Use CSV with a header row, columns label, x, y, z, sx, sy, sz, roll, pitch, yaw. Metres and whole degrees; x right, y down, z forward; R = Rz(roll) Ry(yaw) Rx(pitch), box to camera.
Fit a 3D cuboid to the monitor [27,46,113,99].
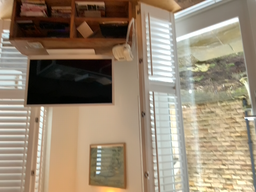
label,x,y,z,sx,sy,sz,roll,pitch,yaw
monitor,-0.490,-0.210,1.850,0.710,0.470,0.040,-1,168,-4
